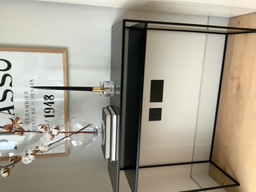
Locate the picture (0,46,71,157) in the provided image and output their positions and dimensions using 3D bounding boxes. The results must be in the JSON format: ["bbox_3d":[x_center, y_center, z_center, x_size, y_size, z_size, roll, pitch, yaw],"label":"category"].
[{"bbox_3d":[-0.720,0.040,1.110,0.030,0.800,0.590,-142,53,-73],"label":"picture"}]
